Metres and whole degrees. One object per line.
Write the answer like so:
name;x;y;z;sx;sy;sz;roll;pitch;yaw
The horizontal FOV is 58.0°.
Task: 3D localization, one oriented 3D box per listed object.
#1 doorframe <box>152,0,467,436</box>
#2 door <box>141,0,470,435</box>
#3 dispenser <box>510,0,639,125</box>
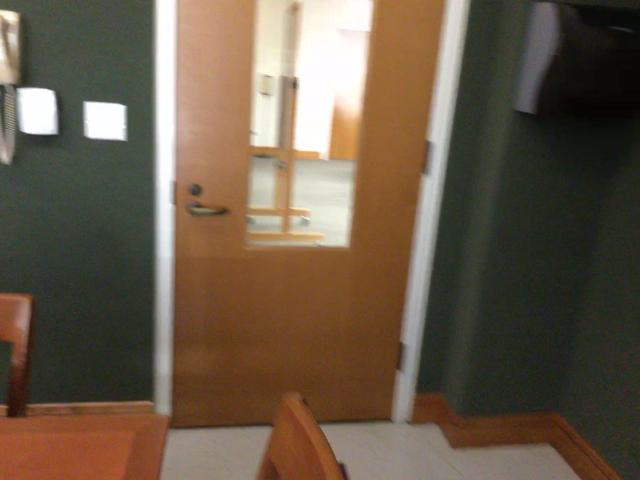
doorframe;-0.060;-0.200;2.050;1.020;1.990;0.050;1;16;-9
door;-0.080;-0.230;2.100;1.060;2.000;0.180;1;16;-9
dispenser;0.810;-0.540;1.750;0.330;0.340;0.240;1;16;-9
